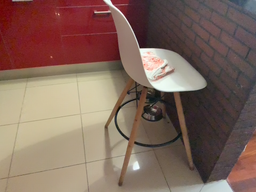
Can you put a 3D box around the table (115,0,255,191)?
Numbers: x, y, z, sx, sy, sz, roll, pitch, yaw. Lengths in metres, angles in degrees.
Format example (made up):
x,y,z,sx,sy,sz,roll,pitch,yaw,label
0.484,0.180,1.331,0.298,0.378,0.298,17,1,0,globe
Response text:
x,y,z,sx,sy,sz,roll,pitch,yaw,label
0.360,-0.510,1.810,0.560,1.150,2.070,-7,39,-12,table

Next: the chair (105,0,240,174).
x,y,z,sx,sy,sz,roll,pitch,yaw,label
0.150,-0.060,1.350,0.490,1.060,0.490,-8,41,-12,chair
